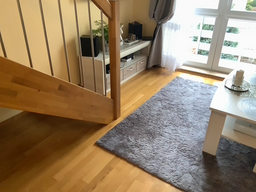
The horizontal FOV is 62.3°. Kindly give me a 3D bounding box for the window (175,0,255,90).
[{"bbox_3d":[1.470,-1.360,3.060,1.260,2.410,0.230,16,32,26],"label":"window"}]
